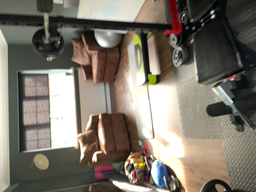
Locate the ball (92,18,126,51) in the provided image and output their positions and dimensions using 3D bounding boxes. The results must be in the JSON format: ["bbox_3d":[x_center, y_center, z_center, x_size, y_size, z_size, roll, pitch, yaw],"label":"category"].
[{"bbox_3d":[-0.380,-1.170,4.100,0.450,0.510,0.410,144,121,-66],"label":"ball"}]

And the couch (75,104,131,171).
[{"bbox_3d":[-0.580,0.840,4.350,0.930,0.860,0.970,115,147,-51],"label":"couch"}]

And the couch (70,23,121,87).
[{"bbox_3d":[-0.780,-0.880,4.720,1.000,0.860,0.920,112,149,-49],"label":"couch"}]
